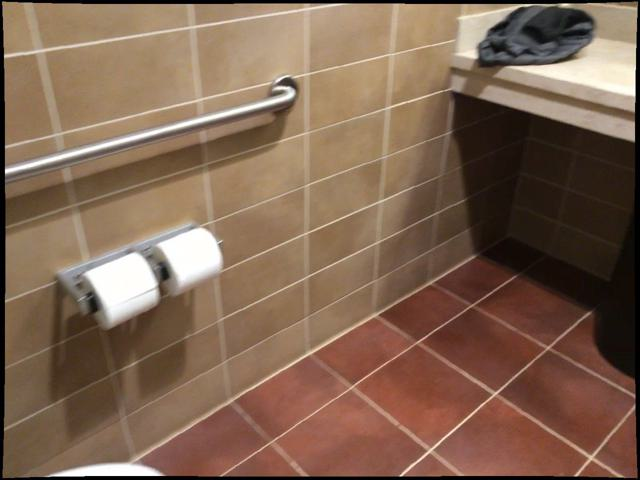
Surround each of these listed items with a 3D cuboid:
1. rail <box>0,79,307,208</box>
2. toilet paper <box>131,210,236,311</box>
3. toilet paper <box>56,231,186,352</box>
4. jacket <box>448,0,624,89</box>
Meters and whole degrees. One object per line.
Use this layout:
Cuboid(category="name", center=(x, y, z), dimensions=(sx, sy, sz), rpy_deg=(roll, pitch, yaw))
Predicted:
Cuboid(category="rail", center=(-0.529, -0.120, 1.050), dimensions=(1.239, 0.060, 0.070), rpy_deg=(-25, 40, -32))
Cuboid(category="toilet paper", center=(-0.300, 0.040, 1.280), dimensions=(0.160, 0.120, 0.150), rpy_deg=(-25, 40, -32))
Cuboid(category="toilet paper", center=(-0.410, 0.100, 1.200), dimensions=(0.190, 0.130, 0.150), rpy_deg=(-25, 40, -32))
Cuboid(category="jacket", center=(0.629, -0.601, 1.690), dimensions=(0.430, 0.160, 0.270), rpy_deg=(-25, 40, -32))
